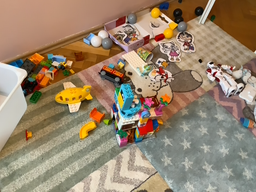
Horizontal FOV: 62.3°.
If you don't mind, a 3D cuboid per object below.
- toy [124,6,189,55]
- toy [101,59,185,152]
[{"bbox_3d":[0.210,-0.500,1.580,0.350,0.070,0.330,-33,68,-26],"label":"toy"},{"bbox_3d":[0.050,0.050,0.980,0.250,0.270,0.230,42,60,17],"label":"toy"}]
